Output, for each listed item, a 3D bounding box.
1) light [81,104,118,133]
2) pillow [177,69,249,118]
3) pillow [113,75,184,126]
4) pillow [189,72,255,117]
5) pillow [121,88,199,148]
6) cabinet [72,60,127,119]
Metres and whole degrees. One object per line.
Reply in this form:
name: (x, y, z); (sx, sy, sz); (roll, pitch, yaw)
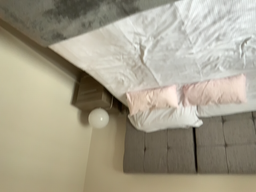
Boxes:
light: (-0.340, 0.290, 2.610); (0.270, 0.220, 0.380); (-8, 152, 25)
pillow: (0.740, -0.040, 1.880); (0.530, 0.220, 0.160); (26, 164, 39)
pillow: (0.190, 0.030, 2.110); (0.660, 0.230, 0.170); (25, 164, 34)
pillow: (0.890, -0.030, 1.930); (0.580, 0.250, 0.140); (18, 160, 43)
pillow: (0.300, 0.200, 2.220); (0.770, 0.320, 0.130); (27, 164, 41)
cabinet: (-0.340, -0.060, 2.740); (0.410, 0.530, 0.530); (-9, 151, 26)
